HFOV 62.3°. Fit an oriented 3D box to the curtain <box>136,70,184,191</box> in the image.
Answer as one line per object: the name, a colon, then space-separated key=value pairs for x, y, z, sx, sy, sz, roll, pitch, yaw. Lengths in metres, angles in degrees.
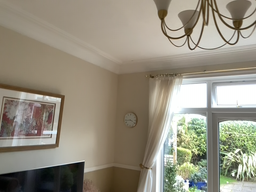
curtain: x=0.490 y=0.830 z=3.270 sx=0.650 sy=2.430 sz=0.210 roll=-1 pitch=-9 yaw=31
